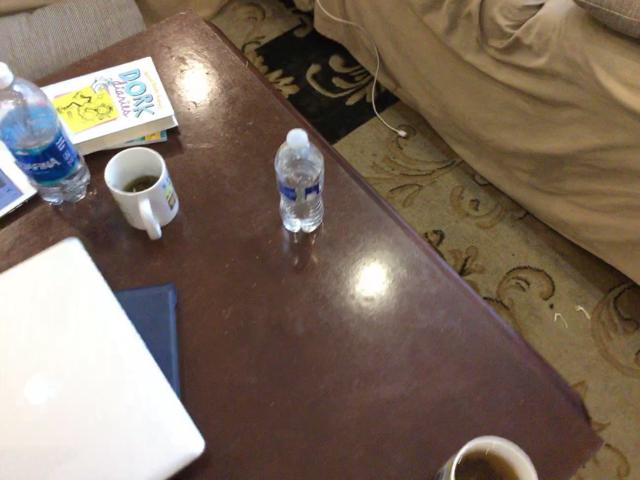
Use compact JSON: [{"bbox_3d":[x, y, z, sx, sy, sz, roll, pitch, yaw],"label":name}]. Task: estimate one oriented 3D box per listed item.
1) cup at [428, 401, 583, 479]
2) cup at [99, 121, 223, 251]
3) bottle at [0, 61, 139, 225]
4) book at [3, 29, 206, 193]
[{"bbox_3d":[0.190,0.270,0.640,0.140,0.100,0.090,-34,67,-19],"label":"cup"},{"bbox_3d":[-0.230,-0.080,0.850,0.110,0.090,0.130,-34,67,-20],"label":"cup"},{"bbox_3d":[-0.370,-0.140,0.850,0.110,0.150,0.150,-34,67,-20],"label":"bottle"},{"bbox_3d":[-0.350,-0.220,0.950,0.240,0.050,0.210,-34,67,-20],"label":"book"}]
